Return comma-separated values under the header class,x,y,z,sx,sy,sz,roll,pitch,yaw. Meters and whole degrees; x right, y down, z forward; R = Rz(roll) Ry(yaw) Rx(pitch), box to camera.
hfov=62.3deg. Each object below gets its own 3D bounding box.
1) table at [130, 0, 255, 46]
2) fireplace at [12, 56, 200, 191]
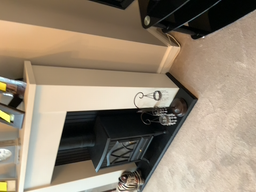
class,x,y,z,sx,sy,sz,roll,pitch,yaw
table,0.420,-0.660,1.180,0.740,0.490,0.430,-22,73,54
fireplace,-0.250,0.400,1.680,0.460,1.090,1.260,53,133,41
